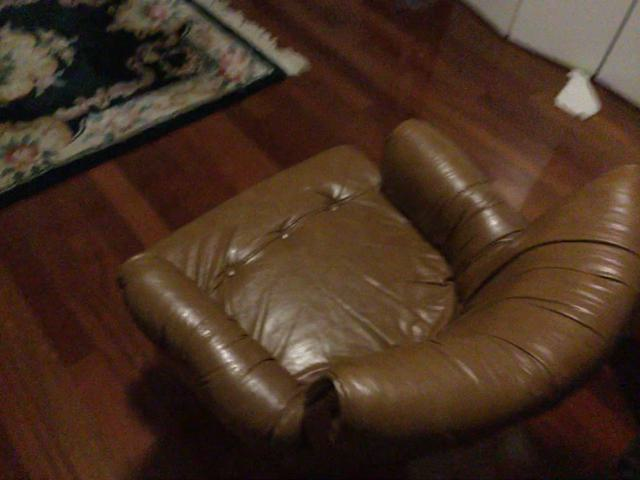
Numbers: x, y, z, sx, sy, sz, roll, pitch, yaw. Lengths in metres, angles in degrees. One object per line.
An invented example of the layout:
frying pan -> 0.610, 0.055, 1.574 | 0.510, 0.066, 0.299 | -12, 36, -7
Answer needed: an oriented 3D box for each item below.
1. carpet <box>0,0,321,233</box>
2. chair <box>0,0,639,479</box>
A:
carpet -> -1.140, -0.540, 1.900 | 1.920, 0.110, 1.260 | -30, 61, -27
chair -> 0.040, 0.120, 1.060 | 0.720, 0.790, 0.690 | -31, 62, -28
